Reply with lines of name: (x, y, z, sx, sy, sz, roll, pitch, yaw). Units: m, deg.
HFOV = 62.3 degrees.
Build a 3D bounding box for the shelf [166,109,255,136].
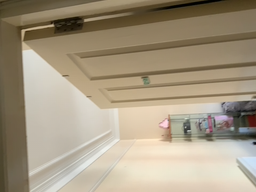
shelf: (1.620, 0.530, 4.280, 0.570, 1.640, 0.440, 9, -103, -79)
